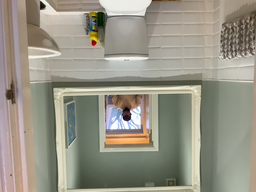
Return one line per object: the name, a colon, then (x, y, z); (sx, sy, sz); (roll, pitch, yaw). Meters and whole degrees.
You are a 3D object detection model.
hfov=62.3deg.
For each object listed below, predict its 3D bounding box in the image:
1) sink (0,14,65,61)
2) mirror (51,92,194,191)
sink: (-0.550, -0.270, 1.070); (0.340, 0.150, 0.460); (-1, -174, -3)
mirror: (-0.040, 0.490, 2.050); (1.320, 1.040, 0.070); (-1, -174, -1)
